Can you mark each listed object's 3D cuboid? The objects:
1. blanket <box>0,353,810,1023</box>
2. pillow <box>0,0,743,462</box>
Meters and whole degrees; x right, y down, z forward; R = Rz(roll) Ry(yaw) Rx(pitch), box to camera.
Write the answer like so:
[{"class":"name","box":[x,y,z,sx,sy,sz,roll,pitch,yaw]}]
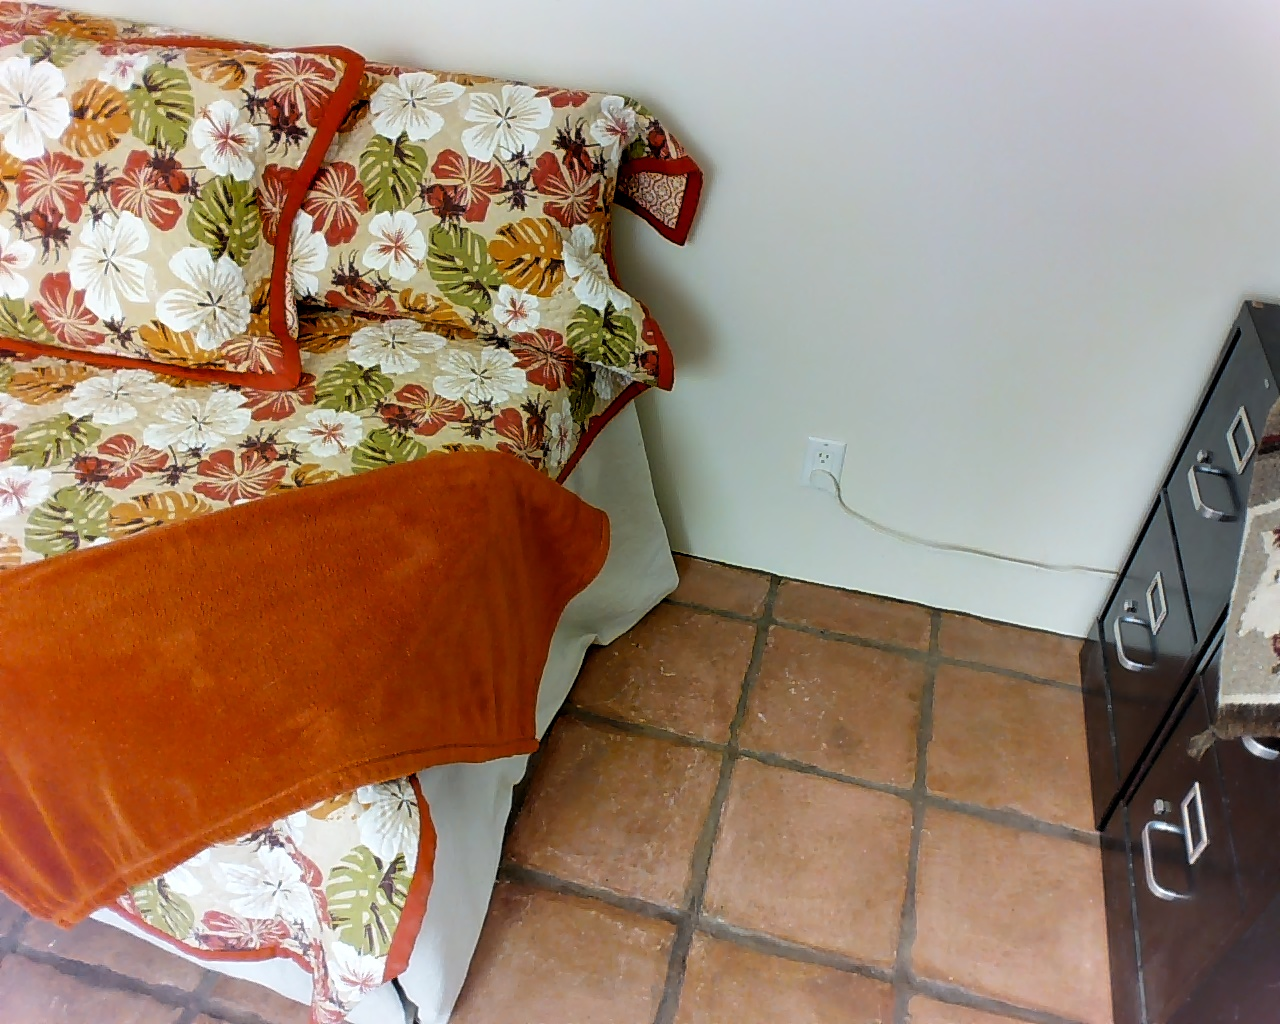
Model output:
[{"class":"blanket","box":[-0.400,0.270,1.290,1.060,0.500,0.480,-19,46,-23]},{"class":"pillow","box":[-0.960,-0.560,1.740,2.189,0.450,0.330,11,42,11]}]
